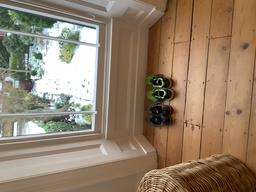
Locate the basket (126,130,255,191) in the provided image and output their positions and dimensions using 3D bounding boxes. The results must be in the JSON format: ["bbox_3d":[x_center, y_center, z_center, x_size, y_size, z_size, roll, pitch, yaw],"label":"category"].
[{"bbox_3d":[0.450,0.580,1.280,0.530,0.760,0.580,11,98,52],"label":"basket"}]
